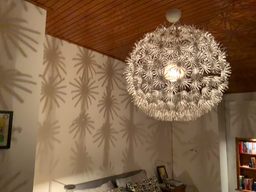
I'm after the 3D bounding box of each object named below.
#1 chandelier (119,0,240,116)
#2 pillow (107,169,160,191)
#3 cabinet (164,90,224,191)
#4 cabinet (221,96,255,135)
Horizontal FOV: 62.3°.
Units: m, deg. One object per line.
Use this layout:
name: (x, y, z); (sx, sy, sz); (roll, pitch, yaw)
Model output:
chandelier: (0.380, -0.350, 1.980); (0.780, 1.020, 0.820); (2, -8, -13)
pillow: (0.100, 1.370, 3.210); (0.480, 0.330, 0.680); (-6, -10, 41)
cabinet: (1.330, 1.130, 4.380); (1.020, 2.380, 0.480); (-6, -10, 41)
cabinet: (2.090, 0.360, 3.810); (0.620, 0.640, 0.510); (-6, -10, 41)
